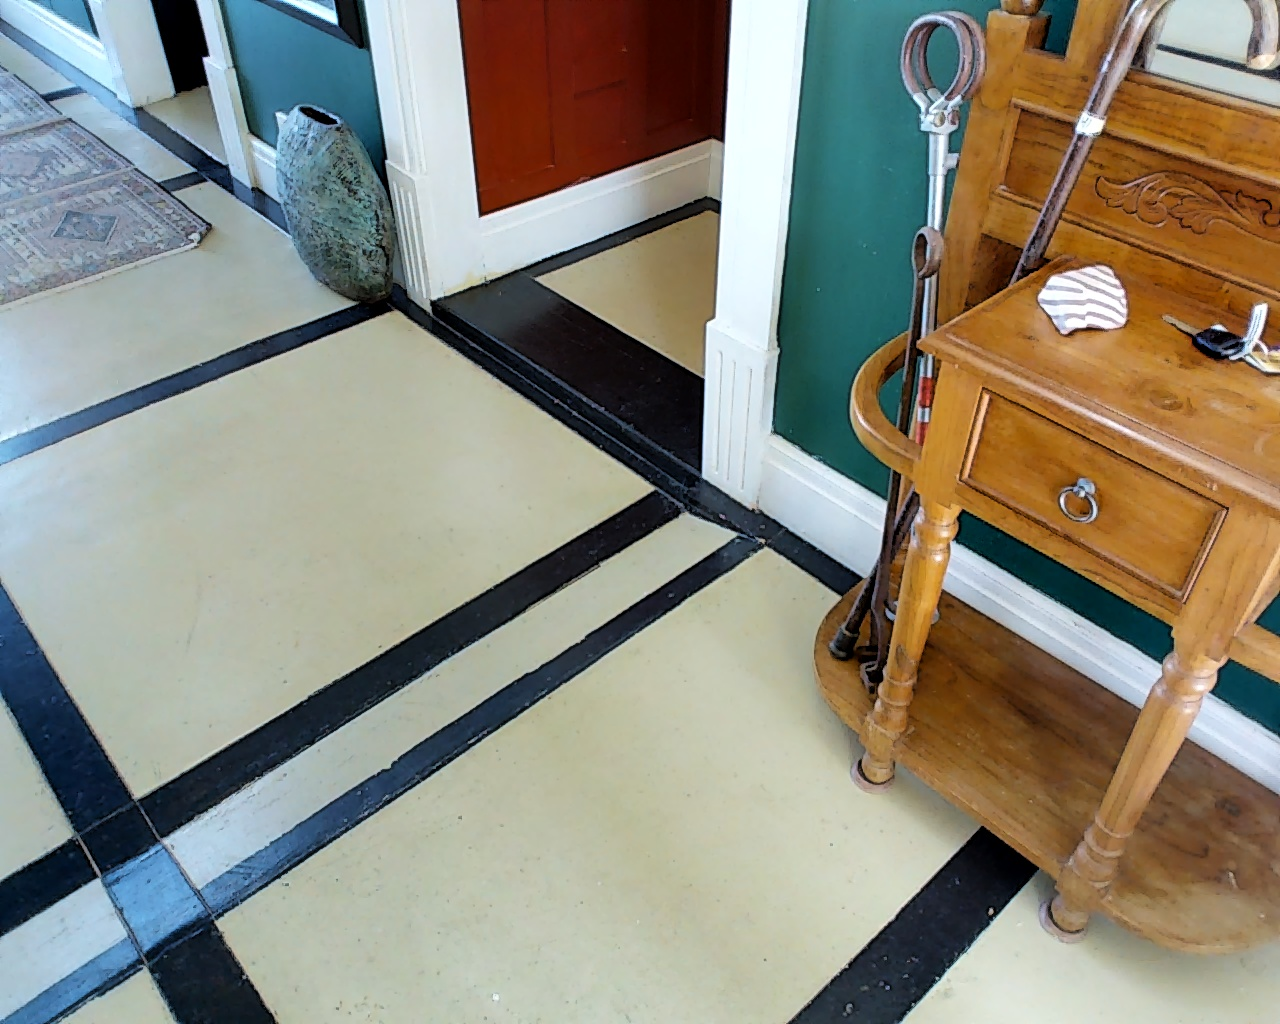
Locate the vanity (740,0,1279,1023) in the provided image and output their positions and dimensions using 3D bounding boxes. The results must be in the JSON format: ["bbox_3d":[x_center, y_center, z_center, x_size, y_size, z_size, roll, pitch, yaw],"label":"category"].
[{"bbox_3d":[0.560,-0.400,0.810,0.360,2.140,0.840,-30,48,-31],"label":"vanity"}]
